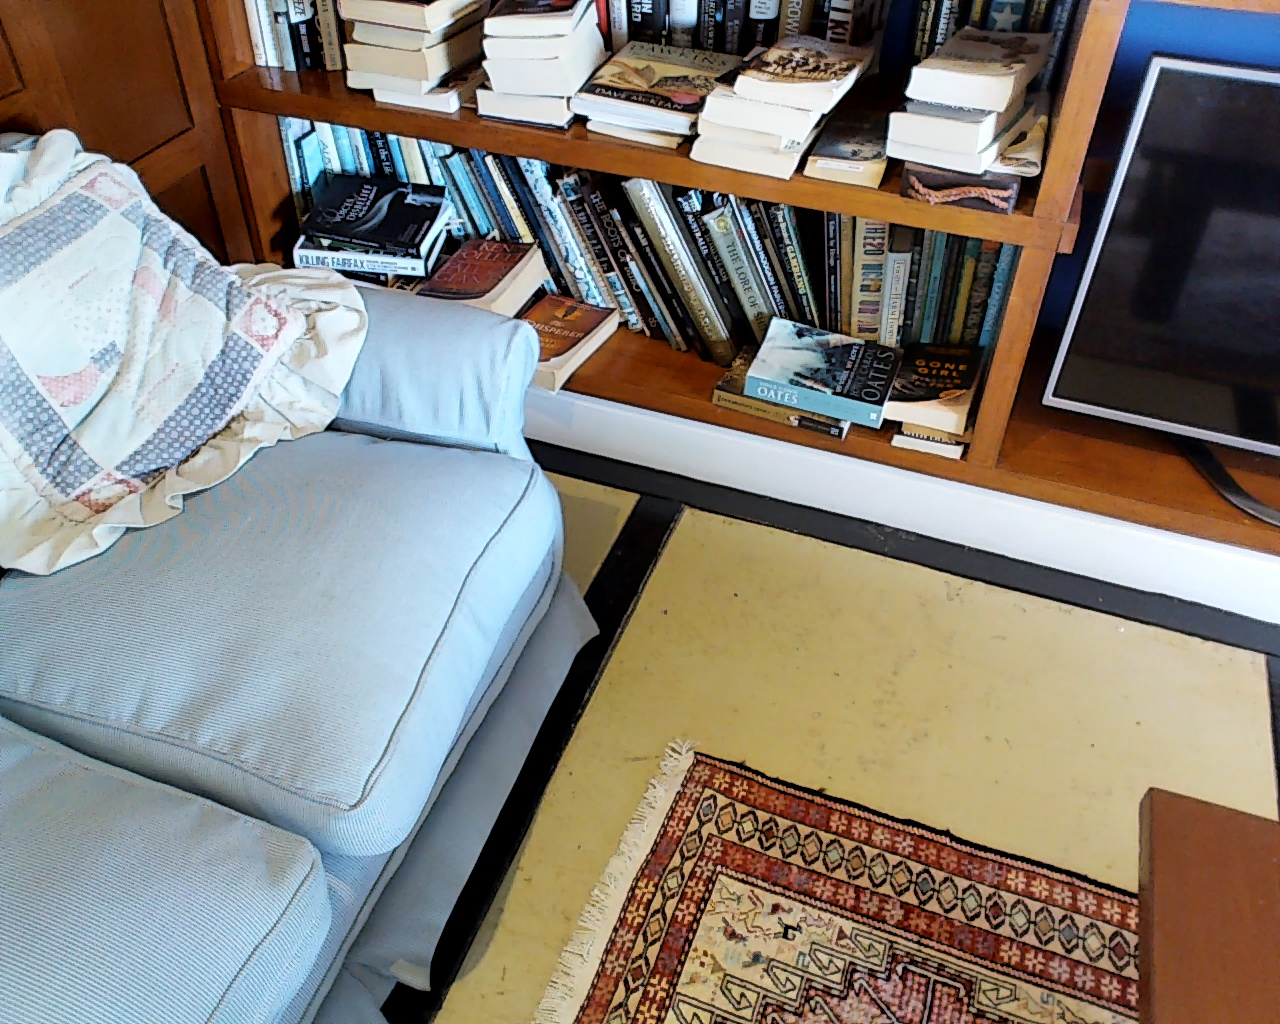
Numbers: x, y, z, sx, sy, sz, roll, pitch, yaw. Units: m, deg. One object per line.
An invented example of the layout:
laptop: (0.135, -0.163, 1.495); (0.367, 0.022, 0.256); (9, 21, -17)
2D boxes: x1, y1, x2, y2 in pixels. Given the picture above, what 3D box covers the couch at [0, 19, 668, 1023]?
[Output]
couch: (-0.660, 0.200, 1.100); (0.910, 0.810, 1.470); (15, 44, 14)
